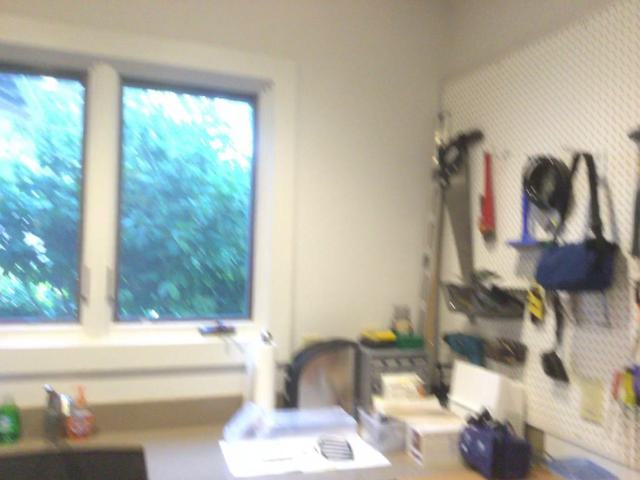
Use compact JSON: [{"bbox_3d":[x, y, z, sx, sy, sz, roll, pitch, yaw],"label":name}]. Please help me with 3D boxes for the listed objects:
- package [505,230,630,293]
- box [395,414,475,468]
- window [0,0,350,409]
[{"bbox_3d":[0.670,0.060,1.590,0.170,0.150,0.280,3,-3,-20],"label":"package"},{"bbox_3d":[0.350,0.610,1.770,0.190,0.110,0.140,3,-3,-20],"label":"box"},{"bbox_3d":[-0.670,-0.200,1.970,1.530,1.450,0.220,3,-3,-20],"label":"window"}]
